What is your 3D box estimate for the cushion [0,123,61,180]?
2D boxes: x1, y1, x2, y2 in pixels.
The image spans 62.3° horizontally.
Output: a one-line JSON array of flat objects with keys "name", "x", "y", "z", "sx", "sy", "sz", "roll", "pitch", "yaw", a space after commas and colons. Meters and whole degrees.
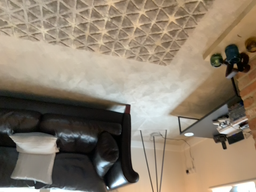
[{"name": "cushion", "x": -0.980, "y": 0.620, "z": 2.250, "sx": 0.460, "sy": 0.410, "sz": 0.640, "roll": 8, "pitch": 150, "yaw": -13}]
